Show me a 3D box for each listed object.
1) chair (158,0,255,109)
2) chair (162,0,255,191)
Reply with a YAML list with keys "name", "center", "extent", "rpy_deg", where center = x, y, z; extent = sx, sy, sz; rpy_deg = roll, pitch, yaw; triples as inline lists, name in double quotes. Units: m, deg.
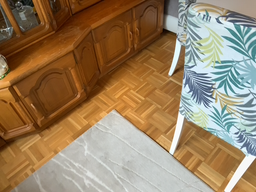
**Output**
- name: "chair"
  center: [0.600, -0.470, 1.530]
  extent: [0.420, 0.930, 0.590]
  rpy_deg: [-38, 56, -26]
- name: "chair"
  center: [0.540, -0.020, 1.080]
  extent: [0.580, 0.990, 0.390]
  rpy_deg: [-38, 56, -26]
